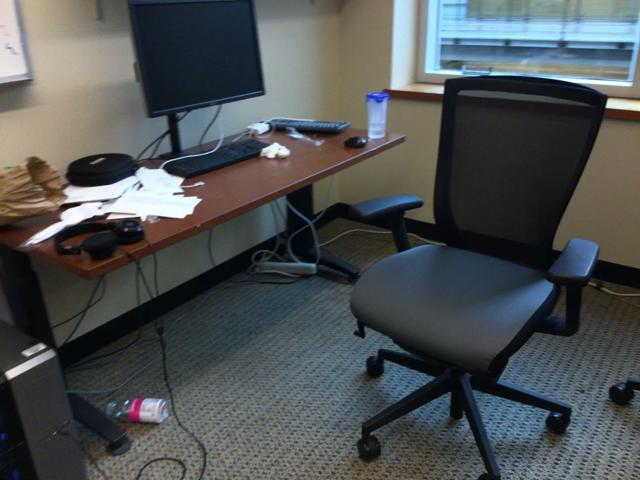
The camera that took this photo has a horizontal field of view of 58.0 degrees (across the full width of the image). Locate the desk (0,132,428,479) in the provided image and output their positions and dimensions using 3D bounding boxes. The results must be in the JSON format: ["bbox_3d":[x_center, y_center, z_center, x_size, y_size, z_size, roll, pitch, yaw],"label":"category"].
[{"bbox_3d":[-0.310,0.080,2.190,0.820,0.720,1.460,8,23,36],"label":"desk"}]

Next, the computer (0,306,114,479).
[{"bbox_3d":[-0.920,0.490,1.580,0.470,0.480,0.370,5,22,31],"label":"computer"}]

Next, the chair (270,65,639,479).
[{"bbox_3d":[0.420,0.090,1.680,0.800,1.050,0.600,6,22,31],"label":"chair"}]
